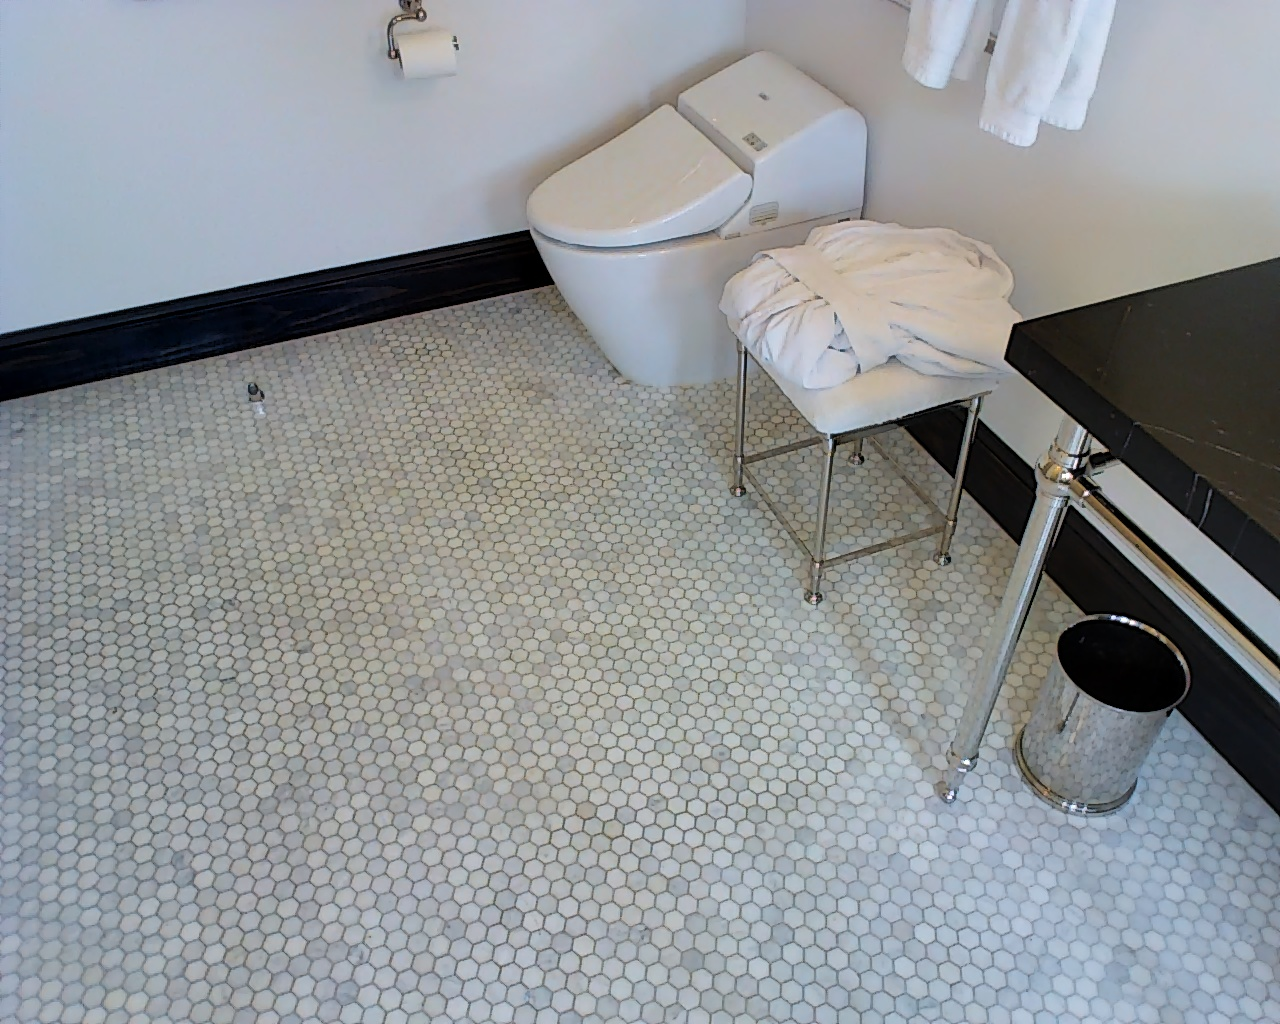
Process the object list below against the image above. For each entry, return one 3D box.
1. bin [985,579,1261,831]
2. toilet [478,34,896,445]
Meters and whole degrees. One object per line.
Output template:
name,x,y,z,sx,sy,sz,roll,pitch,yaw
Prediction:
bin,0.770,0.310,1.750,0.270,0.250,0.230,-16,45,-17
toilet,0.090,-0.640,2.490,0.760,0.660,0.460,-16,45,-17
